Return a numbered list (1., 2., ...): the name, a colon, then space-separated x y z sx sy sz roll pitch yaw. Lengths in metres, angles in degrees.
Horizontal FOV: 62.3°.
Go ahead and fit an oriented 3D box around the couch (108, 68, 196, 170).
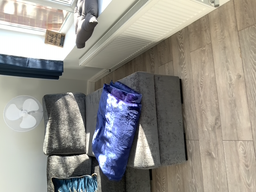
1. couch: 0.160 0.190 1.700 0.500 0.440 0.660 -20 71 57
